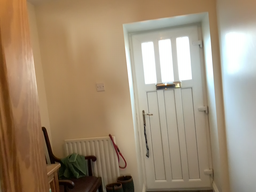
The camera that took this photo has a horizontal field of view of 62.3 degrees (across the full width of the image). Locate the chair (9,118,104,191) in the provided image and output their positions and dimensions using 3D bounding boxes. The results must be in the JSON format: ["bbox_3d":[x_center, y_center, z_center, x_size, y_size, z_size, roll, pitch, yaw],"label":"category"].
[{"bbox_3d":[-0.620,0.790,2.060,0.570,1.020,0.600,-5,4,10],"label":"chair"}]

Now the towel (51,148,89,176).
[{"bbox_3d":[-0.620,0.710,2.280,0.340,0.250,0.130,-5,4,9],"label":"towel"}]
